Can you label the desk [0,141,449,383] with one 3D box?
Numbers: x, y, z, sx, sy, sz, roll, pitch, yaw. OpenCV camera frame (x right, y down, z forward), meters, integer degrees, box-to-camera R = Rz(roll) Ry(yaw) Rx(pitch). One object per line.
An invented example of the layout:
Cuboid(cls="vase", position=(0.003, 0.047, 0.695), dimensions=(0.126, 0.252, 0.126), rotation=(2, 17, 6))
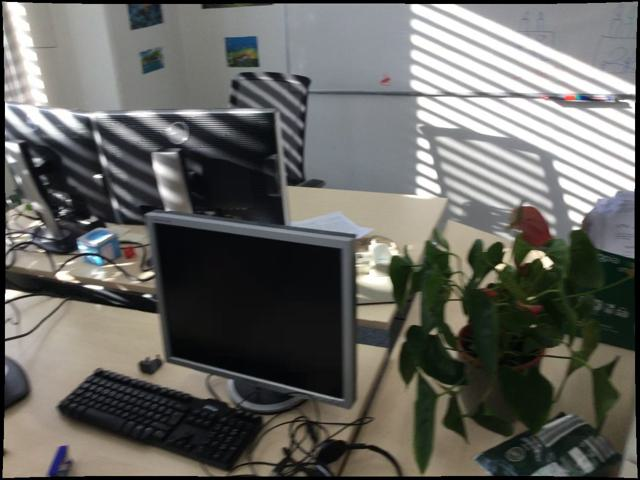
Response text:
Cuboid(cls="desk", position=(-0.420, -0.040, 1.960), dimensions=(1.559, 0.250, 0.860), rotation=(6, 31, 19))
